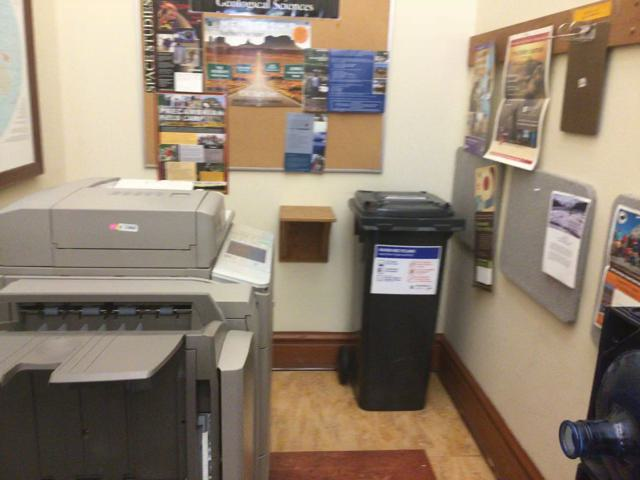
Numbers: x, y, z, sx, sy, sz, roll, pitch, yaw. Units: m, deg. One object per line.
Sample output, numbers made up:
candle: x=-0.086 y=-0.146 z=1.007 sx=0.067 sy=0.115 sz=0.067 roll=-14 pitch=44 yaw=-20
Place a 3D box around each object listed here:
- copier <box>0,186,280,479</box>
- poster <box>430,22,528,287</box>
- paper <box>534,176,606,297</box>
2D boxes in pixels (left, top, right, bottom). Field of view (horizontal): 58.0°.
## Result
copier: x=-0.550 y=0.520 z=1.570 sx=0.880 sy=1.260 sz=1.420 roll=0 pitch=8 yaw=-4
poster: x=0.690 y=-0.380 z=2.620 sx=0.110 sy=1.060 sz=0.560 roll=4 pitch=12 yaw=-5
paper: x=0.770 y=-0.020 z=1.800 sx=0.040 sy=0.330 sz=0.260 roll=4 pitch=12 yaw=-5
